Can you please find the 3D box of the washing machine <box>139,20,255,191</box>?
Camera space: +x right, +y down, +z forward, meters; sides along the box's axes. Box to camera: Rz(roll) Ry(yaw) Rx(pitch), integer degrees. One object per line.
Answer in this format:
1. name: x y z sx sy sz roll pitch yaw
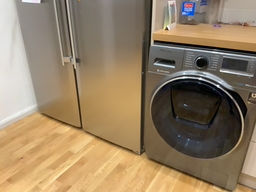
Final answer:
1. washing machine: 0.530 0.020 1.460 0.620 0.920 0.700 15 30 29
